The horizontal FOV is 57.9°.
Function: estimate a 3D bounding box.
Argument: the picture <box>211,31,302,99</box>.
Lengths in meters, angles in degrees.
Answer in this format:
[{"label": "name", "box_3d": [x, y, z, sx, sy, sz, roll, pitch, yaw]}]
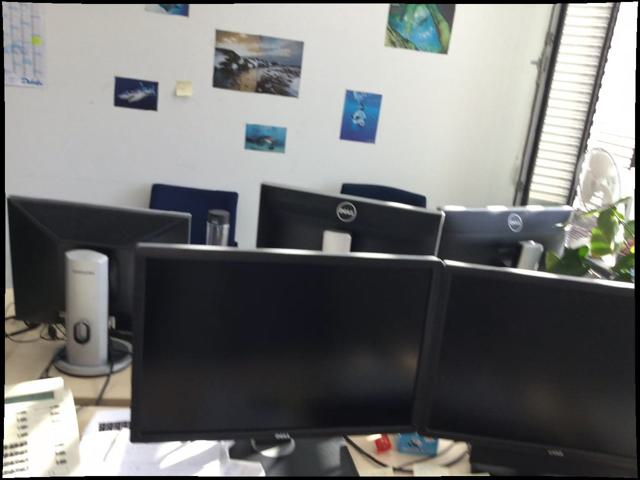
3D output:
[{"label": "picture", "box_3d": [-0.320, -0.871, 2.890, 0.430, 0.280, 0.070, 3, 19, -7]}]

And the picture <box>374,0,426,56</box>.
[{"label": "picture", "box_3d": [0.400, -1.081, 2.910, 0.210, 0.270, 0.090, 3, 19, -7]}]
